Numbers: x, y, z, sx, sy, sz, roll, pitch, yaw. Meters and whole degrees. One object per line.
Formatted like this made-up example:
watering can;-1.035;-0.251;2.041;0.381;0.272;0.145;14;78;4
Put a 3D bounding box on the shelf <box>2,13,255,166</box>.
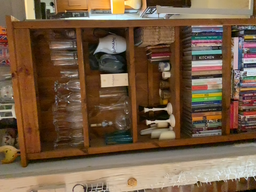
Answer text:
shelf;0.200;-0.090;1.690;0.360;2.000;0.990;-146;54;-79
